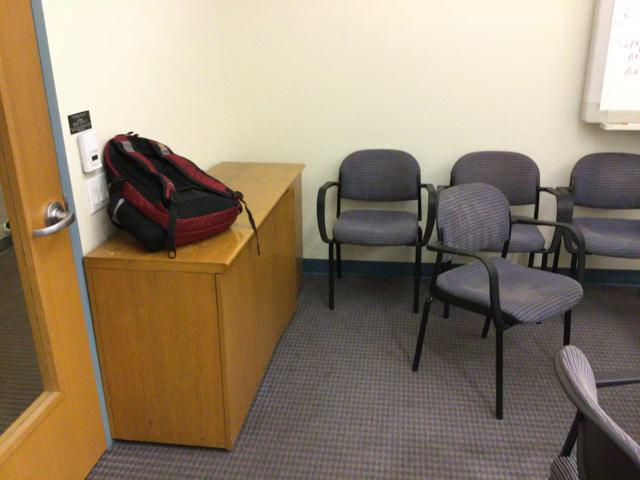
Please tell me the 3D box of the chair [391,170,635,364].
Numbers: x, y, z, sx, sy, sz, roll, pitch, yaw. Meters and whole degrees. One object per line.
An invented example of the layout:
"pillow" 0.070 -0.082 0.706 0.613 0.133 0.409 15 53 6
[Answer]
"chair" 0.730 0.050 2.270 0.610 0.470 0.630 -14 23 -35

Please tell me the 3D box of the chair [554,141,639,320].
"chair" 1.510 -0.070 2.780 0.540 0.700 0.620 4 19 11

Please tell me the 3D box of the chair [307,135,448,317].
"chair" 0.320 -0.110 3.040 0.640 0.760 0.660 4 19 11

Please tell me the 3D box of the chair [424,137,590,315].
"chair" 0.890 -0.110 2.930 0.660 0.710 0.640 4 19 11

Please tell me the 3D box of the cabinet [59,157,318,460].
"cabinet" -0.430 0.150 2.650 0.540 0.770 1.510 4 19 11
